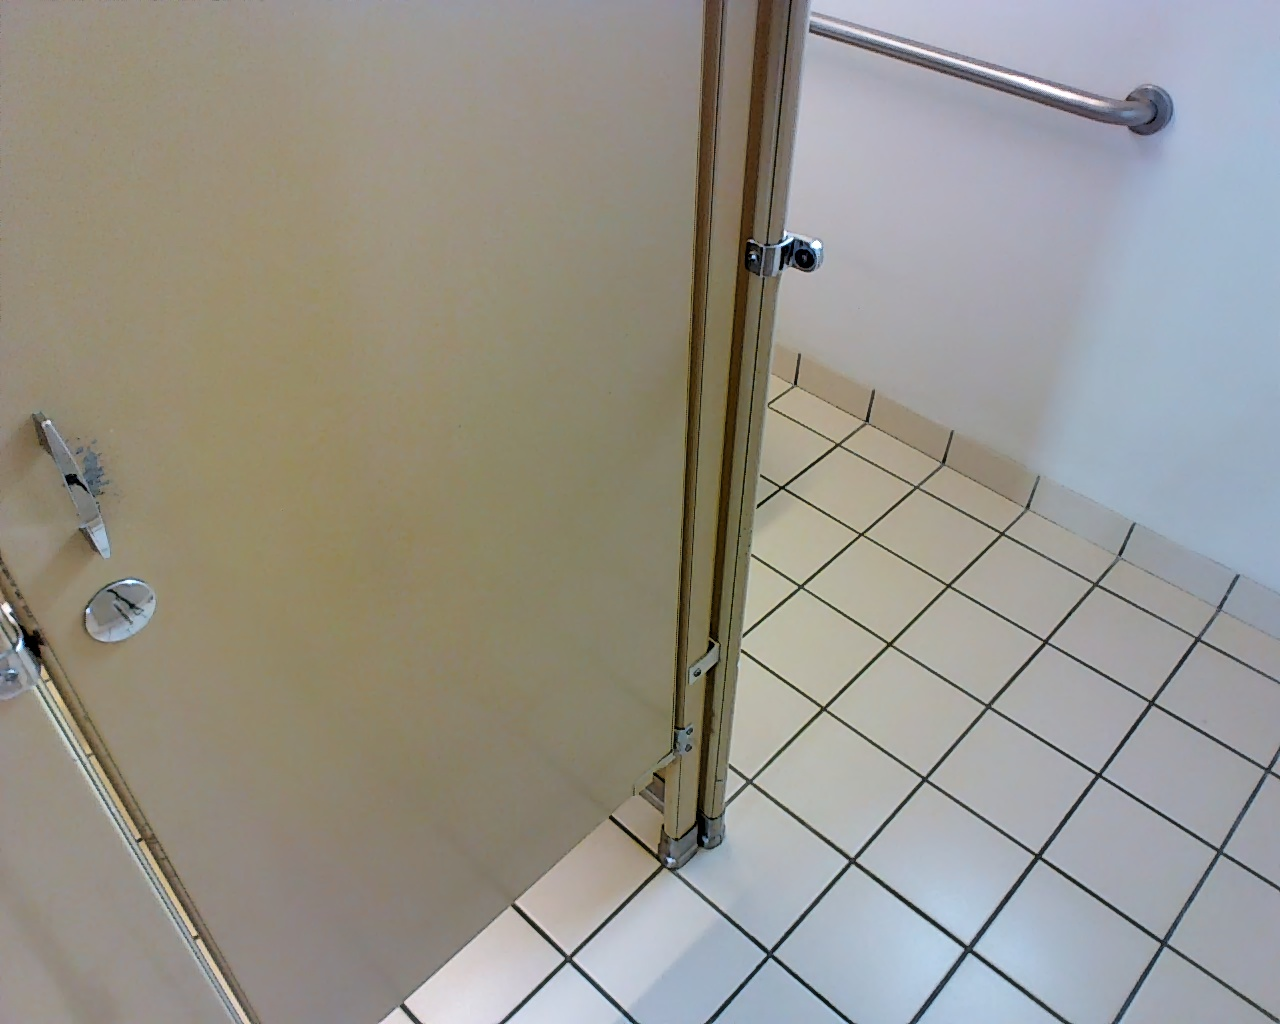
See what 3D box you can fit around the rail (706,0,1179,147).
[{"bbox_3d":[0.490,-0.830,1.920,0.910,0.060,0.080,33,51,30],"label":"rail"}]
